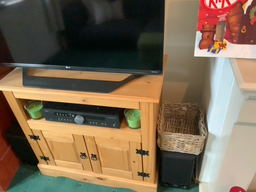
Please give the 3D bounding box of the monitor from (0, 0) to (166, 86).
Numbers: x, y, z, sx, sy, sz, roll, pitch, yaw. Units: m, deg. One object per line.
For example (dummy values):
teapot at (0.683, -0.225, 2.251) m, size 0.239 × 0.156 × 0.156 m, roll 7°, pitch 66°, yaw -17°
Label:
monitor at (-0.310, -0.330, 0.920) m, size 0.930 × 0.560 × 0.060 m, roll 5°, pitch 38°, yaw 14°
